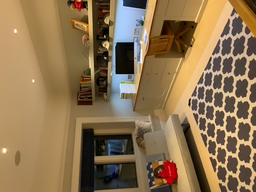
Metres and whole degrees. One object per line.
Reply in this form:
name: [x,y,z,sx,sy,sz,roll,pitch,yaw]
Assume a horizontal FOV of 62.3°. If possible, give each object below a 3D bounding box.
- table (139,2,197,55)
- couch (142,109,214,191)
table: [0.680,-1.220,3.900,0.690,0.800,0.600,100,167,-50]
couch: [0.780,1.190,3.730,0.890,0.700,1.700,99,167,-49]
